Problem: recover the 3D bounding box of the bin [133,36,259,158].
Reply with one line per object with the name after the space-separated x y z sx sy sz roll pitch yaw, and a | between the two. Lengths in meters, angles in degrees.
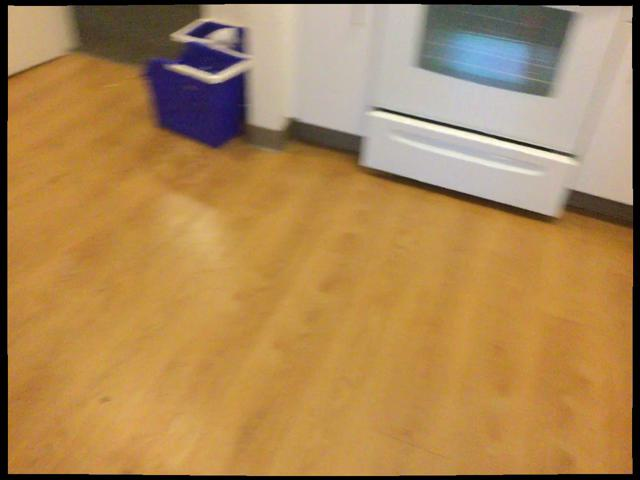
-0.519 -0.621 2.480 0.439 0.340 0.260 21 42 19 | bin
